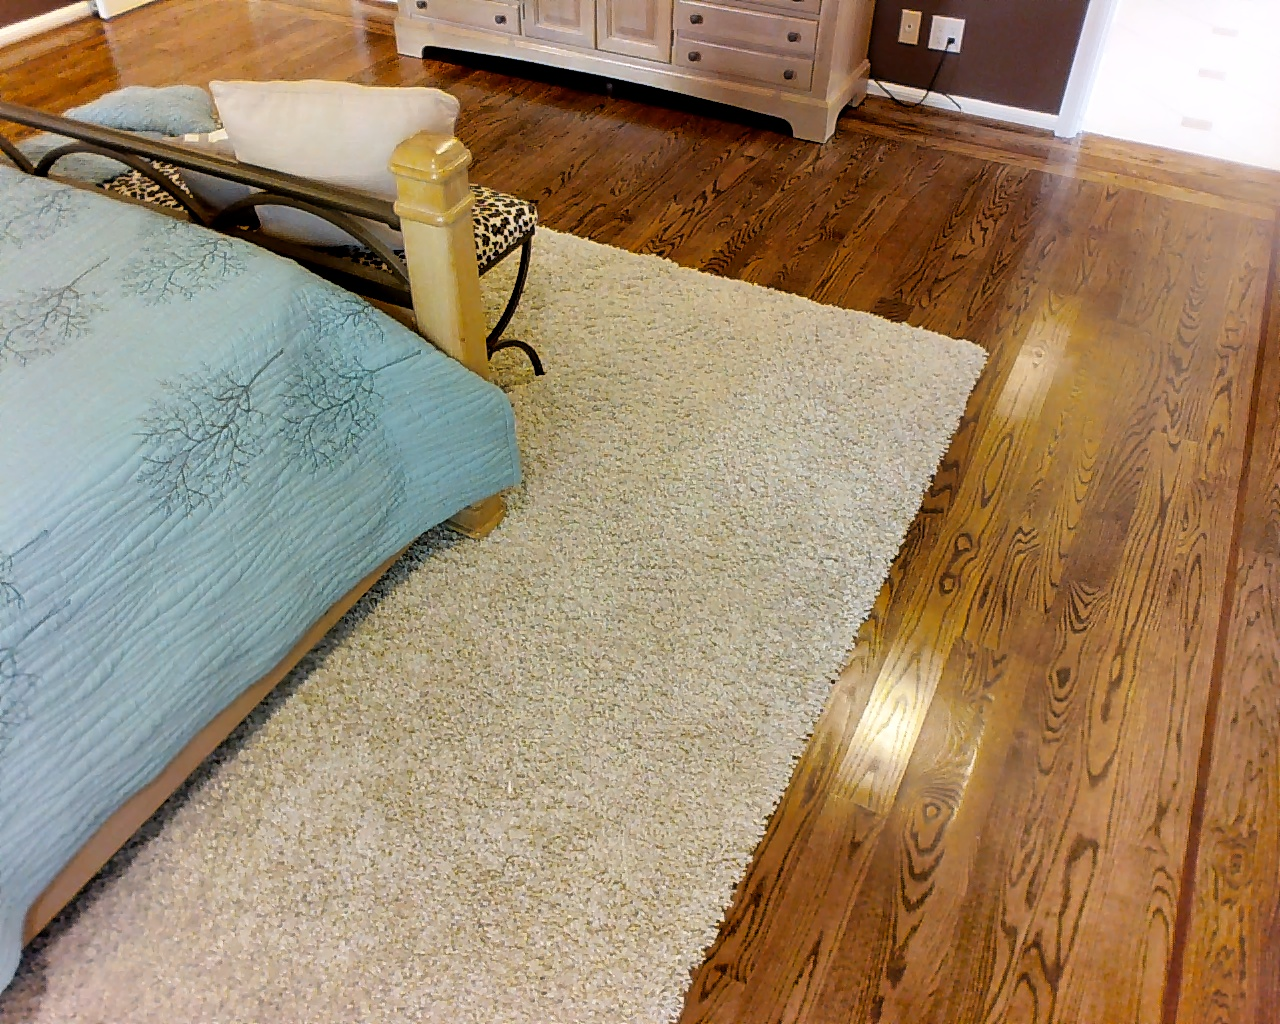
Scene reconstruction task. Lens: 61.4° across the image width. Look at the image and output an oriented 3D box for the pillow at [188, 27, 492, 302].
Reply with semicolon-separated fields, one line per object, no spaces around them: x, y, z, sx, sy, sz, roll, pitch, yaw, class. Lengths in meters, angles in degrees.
-0.540;-0.640;2.030;0.430;0.390;0.200;-9;57;2;pillow
